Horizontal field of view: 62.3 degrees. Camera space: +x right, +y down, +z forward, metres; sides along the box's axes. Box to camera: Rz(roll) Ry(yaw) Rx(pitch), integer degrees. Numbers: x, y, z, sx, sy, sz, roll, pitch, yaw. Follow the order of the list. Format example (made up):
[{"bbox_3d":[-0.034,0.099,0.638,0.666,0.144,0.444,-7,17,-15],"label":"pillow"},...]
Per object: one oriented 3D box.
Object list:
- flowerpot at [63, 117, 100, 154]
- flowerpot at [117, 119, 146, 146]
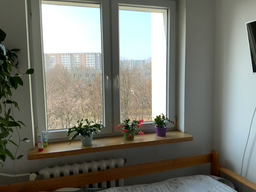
[{"bbox_3d":[-0.440,0.360,2.000,0.320,0.270,0.210,-2,6,-15],"label":"flowerpot"},{"bbox_3d":[0.030,0.360,2.150,0.240,0.210,0.180,-3,6,-23],"label":"flowerpot"}]
